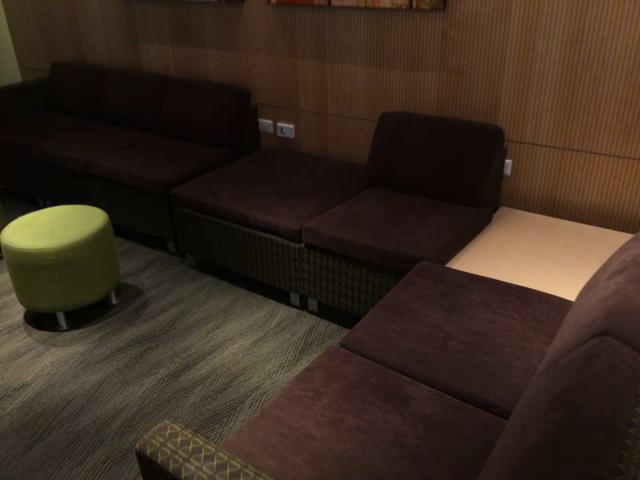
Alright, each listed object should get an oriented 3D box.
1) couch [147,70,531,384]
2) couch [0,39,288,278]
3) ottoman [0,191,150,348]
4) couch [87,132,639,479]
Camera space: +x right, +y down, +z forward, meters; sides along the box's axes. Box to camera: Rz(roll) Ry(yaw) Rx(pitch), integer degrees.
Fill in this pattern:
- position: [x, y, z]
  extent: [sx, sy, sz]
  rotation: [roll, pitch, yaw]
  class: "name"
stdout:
- position: [0.060, -0.180, 2.600]
  extent: [1.370, 0.840, 0.840]
  rotation: [18, 30, 27]
  class: "couch"
- position: [-1.230, -0.590, 3.320]
  extent: [1.910, 0.780, 0.860]
  rotation: [18, 30, 27]
  class: "couch"
- position: [-1.050, 0.100, 2.430]
  extent: [0.430, 0.410, 0.440]
  rotation: [18, 30, 26]
  class: "ottoman"
- position: [0.410, 0.380, 1.530]
  extent: [0.930, 0.830, 1.590]
  rotation: [18, 30, 26]
  class: "couch"
